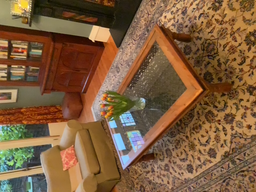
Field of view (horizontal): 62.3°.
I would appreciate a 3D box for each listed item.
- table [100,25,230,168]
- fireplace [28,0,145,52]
[{"bbox_3d":[0.220,0.090,2.200,1.360,0.410,0.730,-55,46,42],"label":"table"},{"bbox_3d":[-0.460,-1.440,2.600,1.480,1.180,0.800,-56,46,41],"label":"fireplace"}]
